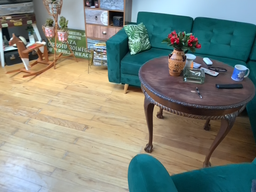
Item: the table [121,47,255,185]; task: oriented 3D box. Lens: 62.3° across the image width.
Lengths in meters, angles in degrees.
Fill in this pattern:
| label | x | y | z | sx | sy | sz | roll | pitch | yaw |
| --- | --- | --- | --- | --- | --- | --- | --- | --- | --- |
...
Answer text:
| label | x | y | z | sx | sy | sz | roll | pitch | yaw |
| --- | --- | --- | --- | --- | --- | --- | --- | --- | --- |
| table | 0.480 | 0.100 | 1.850 | 0.840 | 0.700 | 0.800 | 12 | 34 | 14 |
